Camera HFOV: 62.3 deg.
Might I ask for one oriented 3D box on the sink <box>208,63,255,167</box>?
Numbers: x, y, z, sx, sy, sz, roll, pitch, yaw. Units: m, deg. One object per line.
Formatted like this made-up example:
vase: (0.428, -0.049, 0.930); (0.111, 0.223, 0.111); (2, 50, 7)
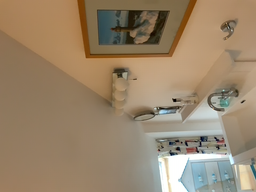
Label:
sink: (0.760, 0.160, 1.360); (0.620, 0.140, 0.450); (99, 168, -62)
